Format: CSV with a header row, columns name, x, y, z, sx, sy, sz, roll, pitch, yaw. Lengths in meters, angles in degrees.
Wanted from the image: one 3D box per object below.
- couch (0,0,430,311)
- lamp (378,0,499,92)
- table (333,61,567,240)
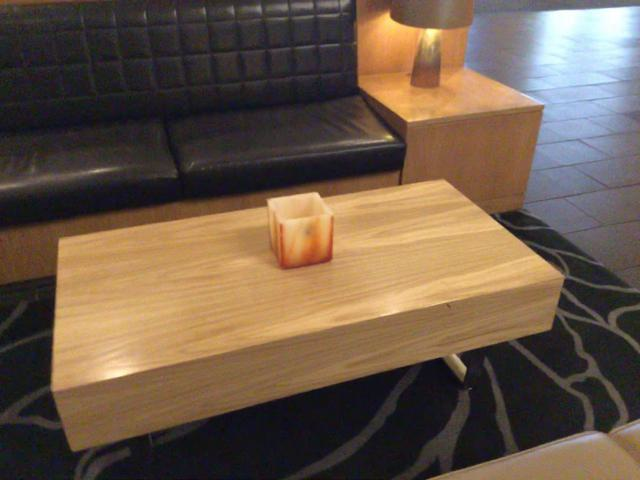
name,x,y,z,sx,sy,sz,roll,pitch,yaw
couch,-0.590,-0.430,2.260,1.880,0.970,0.630,-10,28,-18
lamp,0.510,-0.960,2.540,0.370,0.510,0.360,-10,28,-18
table,0.540,-0.450,2.650,0.780,0.570,0.640,-10,28,-18
